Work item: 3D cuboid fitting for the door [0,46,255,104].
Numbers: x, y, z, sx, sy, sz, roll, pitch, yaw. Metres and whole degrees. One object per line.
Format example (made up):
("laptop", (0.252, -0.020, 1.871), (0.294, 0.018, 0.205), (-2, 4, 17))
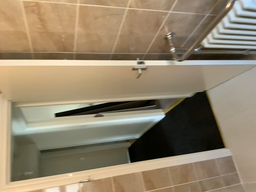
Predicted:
("door", (0.010, -0.160, 1.760), (0.750, 2.000, 0.090), (132, 132, -64))
